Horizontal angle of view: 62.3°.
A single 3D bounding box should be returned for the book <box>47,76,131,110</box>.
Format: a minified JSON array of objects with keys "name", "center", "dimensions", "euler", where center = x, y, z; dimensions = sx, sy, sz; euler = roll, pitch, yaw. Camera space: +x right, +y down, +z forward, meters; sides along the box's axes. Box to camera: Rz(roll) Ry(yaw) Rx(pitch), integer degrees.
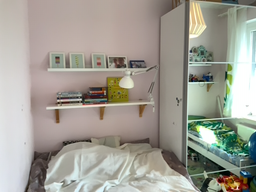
[{"name":"book","center":[-0.430,-0.050,2.440],"dimensions":[0.910,0.340,0.220],"euler":[-2,7,-17]}]
